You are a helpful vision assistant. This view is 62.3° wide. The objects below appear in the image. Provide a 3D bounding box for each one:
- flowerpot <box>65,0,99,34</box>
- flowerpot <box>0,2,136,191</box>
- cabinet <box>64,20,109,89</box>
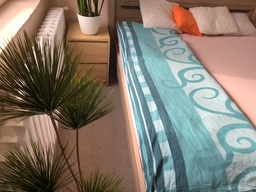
[{"bbox_3d":[-0.420,-0.980,1.920,0.280,0.740,0.330,-2,37,-7],"label":"flowerpot"},{"bbox_3d":[-0.190,0.320,0.780,0.330,1.140,0.410,2,37,-3],"label":"flowerpot"},{"bbox_3d":[-0.420,-0.460,2.320,0.410,0.570,0.490,-1,37,-7],"label":"cabinet"}]
